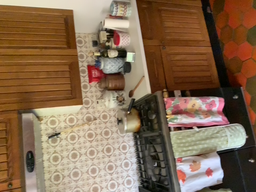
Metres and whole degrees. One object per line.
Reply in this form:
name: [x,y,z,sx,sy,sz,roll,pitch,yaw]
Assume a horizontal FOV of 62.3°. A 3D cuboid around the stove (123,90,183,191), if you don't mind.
stove: [0.180,0.530,1.710,0.680,0.080,1.020,148,116,-66]
